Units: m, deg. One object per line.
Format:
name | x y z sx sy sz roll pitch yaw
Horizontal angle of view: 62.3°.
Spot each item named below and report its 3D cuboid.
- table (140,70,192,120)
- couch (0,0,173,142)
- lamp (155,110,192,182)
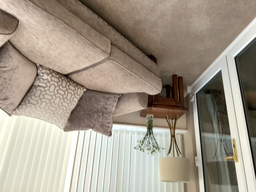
table | 0.480 0.000 2.860 0.550 0.480 0.470 5 156 -6
couch | -0.510 -0.210 2.030 1.070 0.850 1.780 -17 149 37
lamp | 0.530 0.610 2.590 0.330 0.790 0.290 5 156 -6
